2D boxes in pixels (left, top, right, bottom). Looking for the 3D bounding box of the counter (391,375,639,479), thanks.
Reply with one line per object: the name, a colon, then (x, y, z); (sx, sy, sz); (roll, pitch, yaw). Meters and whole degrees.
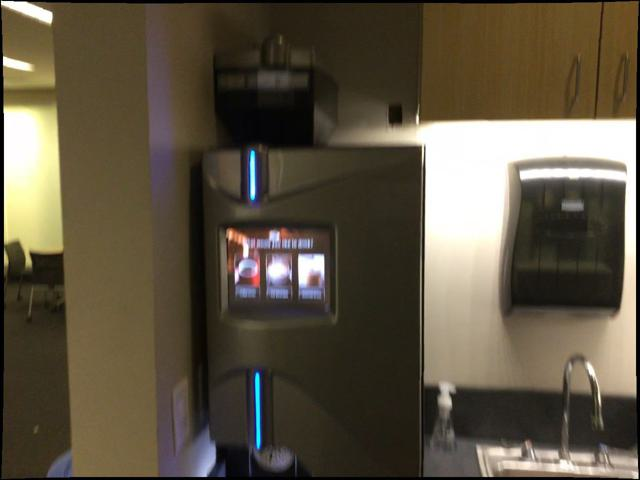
counter: (0.658, 0.591, 1.420); (0.948, 0.271, 0.650); (-1, 8, 8)
